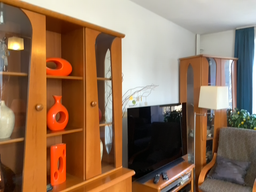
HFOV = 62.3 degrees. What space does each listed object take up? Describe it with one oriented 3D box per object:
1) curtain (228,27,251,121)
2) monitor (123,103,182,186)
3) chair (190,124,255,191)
[{"bbox_3d":[1.740,-0.330,3.320,0.270,1.400,0.180,1,2,39],"label":"curtain"},{"bbox_3d":[0.330,0.460,2.380,0.060,0.720,1.080,2,2,41],"label":"monitor"},{"bbox_3d":[1.220,0.910,2.550,0.650,0.980,0.740,2,2,42],"label":"chair"}]
